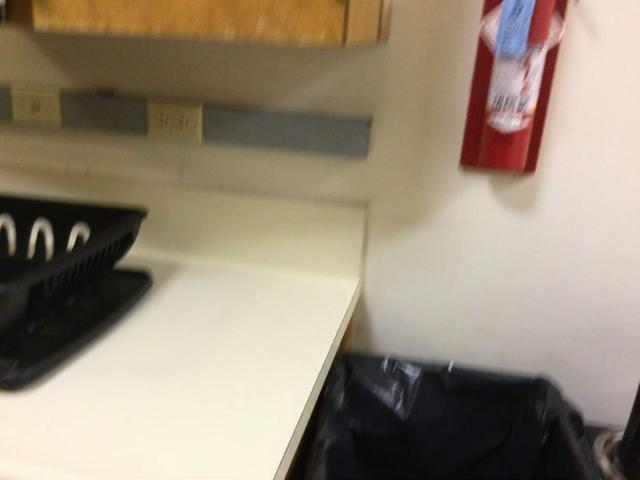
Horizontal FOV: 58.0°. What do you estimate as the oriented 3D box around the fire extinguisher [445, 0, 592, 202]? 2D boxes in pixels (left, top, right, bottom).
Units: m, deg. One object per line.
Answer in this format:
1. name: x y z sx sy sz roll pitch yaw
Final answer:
1. fire extinguisher: 0.310 -0.350 0.890 0.170 0.550 0.140 6 19 12
